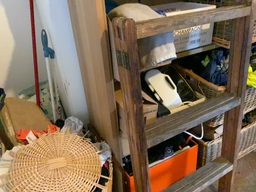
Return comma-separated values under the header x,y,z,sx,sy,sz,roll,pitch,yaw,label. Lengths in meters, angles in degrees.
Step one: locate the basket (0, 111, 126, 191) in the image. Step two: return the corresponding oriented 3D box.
x,y,z,sx,sy,sz,roll,pitch,yaw,label
-0.300,0.530,1.050,0.450,0.630,0.540,-15,31,-18,basket
